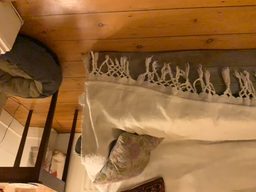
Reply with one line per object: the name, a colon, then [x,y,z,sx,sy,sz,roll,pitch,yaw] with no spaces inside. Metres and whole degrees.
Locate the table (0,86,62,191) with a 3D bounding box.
table: [-0.860,0.360,1.650,0.400,0.650,0.560,-2,148,4]
